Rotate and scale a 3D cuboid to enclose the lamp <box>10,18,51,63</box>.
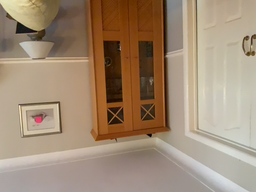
[{"bbox_3d":[-1.100,-0.620,2.440,0.320,0.450,0.350,-5,-174,-14],"label":"lamp"}]

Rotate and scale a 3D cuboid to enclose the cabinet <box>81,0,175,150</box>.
[{"bbox_3d":[0.000,-0.460,2.820,1.050,2.110,0.500,-5,-174,-17],"label":"cabinet"}]
